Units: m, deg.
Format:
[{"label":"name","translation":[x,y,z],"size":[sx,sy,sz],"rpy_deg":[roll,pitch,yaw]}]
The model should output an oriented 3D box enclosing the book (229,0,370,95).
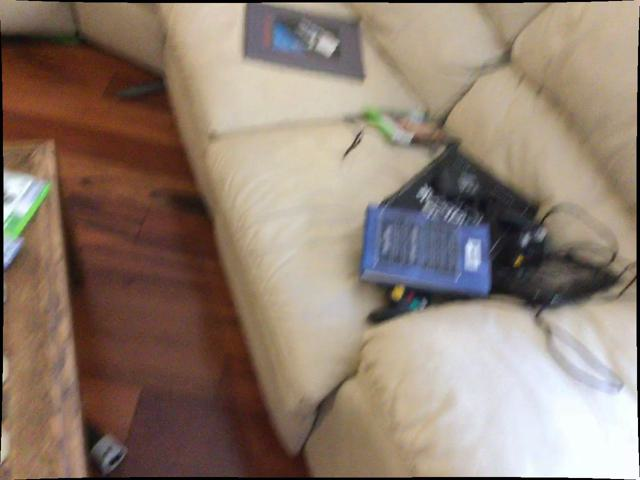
[{"label":"book","translation":[-0.040,-0.490,1.430],"size":[0.320,0.030,0.270],"rpy_deg":[11,51,-5]}]
